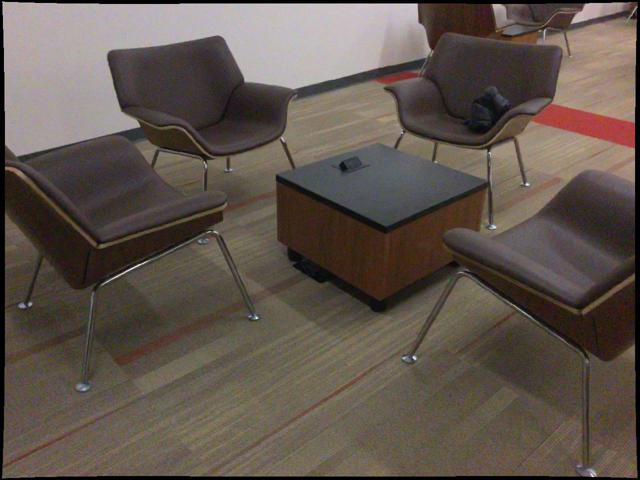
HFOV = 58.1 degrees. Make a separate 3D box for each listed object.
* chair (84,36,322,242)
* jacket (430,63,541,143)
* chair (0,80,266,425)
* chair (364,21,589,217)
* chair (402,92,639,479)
[{"bbox_3d":[-0.588,-0.602,3.080,0.879,0.731,0.809,-25,37,-36],"label":"chair"},{"bbox_3d":[0.878,-0.742,3.070,0.440,0.271,0.360,-25,37,-36],"label":"jacket"},{"bbox_3d":[-0.778,-0.050,2.070,0.779,0.761,0.839,-23,36,-34],"label":"chair"},{"bbox_3d":[0.838,-0.722,3.180,0.889,0.751,0.780,19,35,31],"label":"chair"},{"bbox_3d":[0.838,0.080,1.760,0.849,0.772,0.739,-23,36,-34],"label":"chair"}]
